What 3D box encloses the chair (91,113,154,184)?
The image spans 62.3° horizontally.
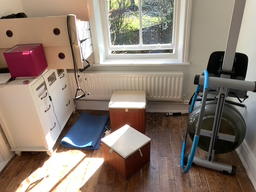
[{"bbox_3d":[-0.040,0.500,2.130,0.420,0.400,0.430,20,36,35],"label":"chair"}]

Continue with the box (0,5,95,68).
[{"bbox_3d":[-0.840,-0.660,2.270,0.790,0.480,0.680,0,29,5],"label":"box"}]

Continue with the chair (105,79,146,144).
[{"bbox_3d":[0.000,0.170,2.720,0.420,0.540,0.670,1,29,7],"label":"chair"}]
